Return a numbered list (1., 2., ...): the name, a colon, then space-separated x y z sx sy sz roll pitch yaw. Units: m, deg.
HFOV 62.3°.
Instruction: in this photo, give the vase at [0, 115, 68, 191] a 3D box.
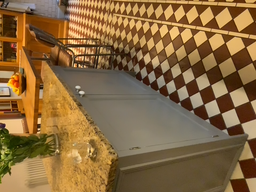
1. vase: -0.720 0.370 1.440 0.370 0.490 0.320 37 121 52
